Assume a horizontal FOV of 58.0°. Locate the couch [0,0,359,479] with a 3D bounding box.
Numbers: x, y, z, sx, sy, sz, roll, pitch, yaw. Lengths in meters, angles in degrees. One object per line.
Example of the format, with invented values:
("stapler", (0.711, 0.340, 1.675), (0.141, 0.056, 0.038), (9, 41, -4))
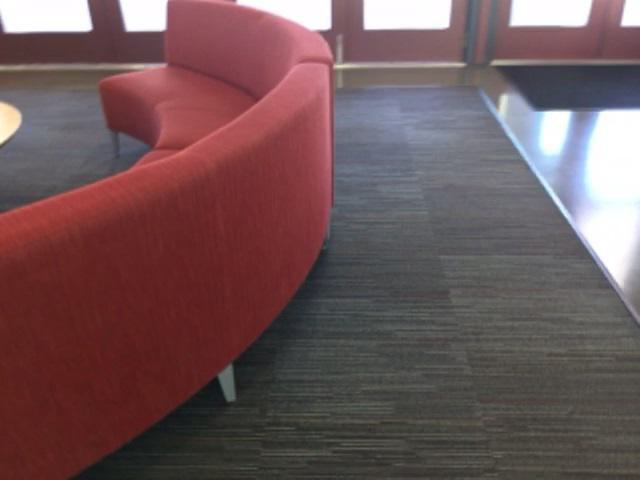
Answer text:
("couch", (-0.550, -0.320, 2.230), (1.300, 0.790, 3.120), (4, 31, 2))
